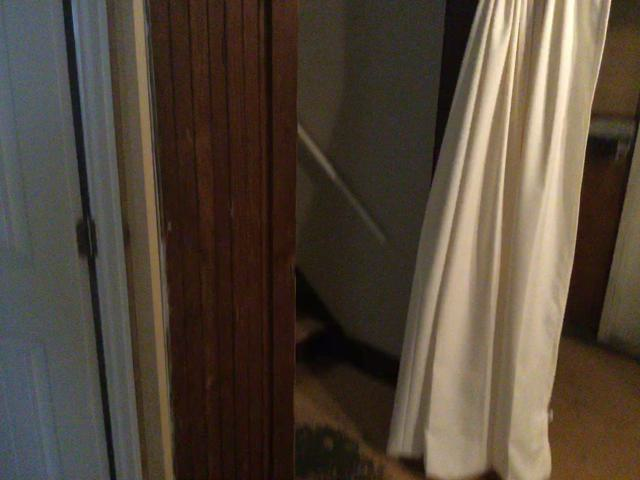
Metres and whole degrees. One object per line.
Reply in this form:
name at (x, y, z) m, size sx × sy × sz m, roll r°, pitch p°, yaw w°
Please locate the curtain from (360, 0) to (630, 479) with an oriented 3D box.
curtain at (0.500, -0.080, 1.860) m, size 0.370 × 1.900 × 0.630 m, roll -14°, pitch 21°, yaw -39°
